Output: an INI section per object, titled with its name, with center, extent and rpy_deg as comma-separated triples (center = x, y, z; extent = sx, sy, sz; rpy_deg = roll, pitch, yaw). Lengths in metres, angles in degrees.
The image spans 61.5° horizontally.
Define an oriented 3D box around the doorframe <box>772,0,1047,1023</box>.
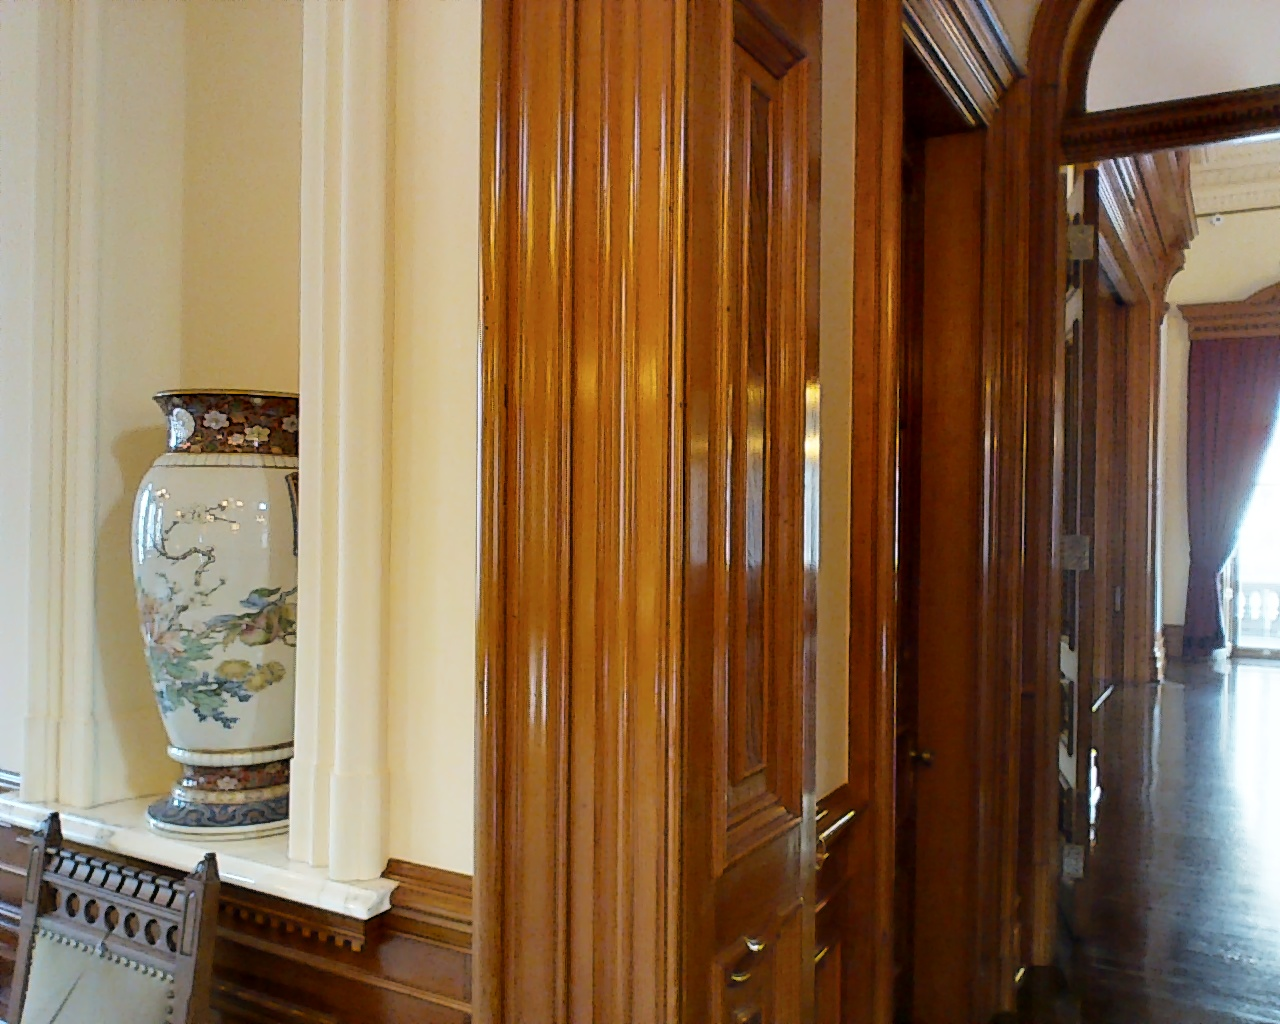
[doorframe]
center = 0.800, -0.010, 2.890
extent = 0.290, 3.080, 1.570
rpy_deg = 1, 0, 29
